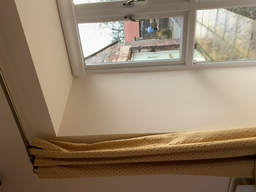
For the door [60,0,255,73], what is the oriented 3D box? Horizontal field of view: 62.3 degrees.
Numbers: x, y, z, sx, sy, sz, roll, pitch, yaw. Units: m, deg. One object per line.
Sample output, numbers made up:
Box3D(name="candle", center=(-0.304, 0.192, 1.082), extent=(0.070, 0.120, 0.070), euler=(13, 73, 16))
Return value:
Box3D(name="door", center=(0.570, -0.750, 1.690), extent=(0.110, 2.210, 1.050), euler=(-84, -9, -63))
